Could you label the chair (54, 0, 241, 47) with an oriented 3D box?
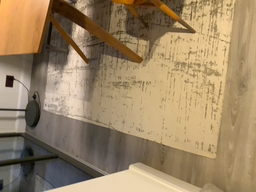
[{"bbox_3d":[0.150,-0.590,1.080,0.590,0.760,0.460,8,91,43],"label":"chair"}]
